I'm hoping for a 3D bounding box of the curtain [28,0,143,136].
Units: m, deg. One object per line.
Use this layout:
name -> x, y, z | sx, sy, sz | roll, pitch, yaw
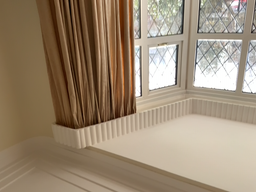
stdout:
curtain -> -0.280, -0.770, 1.540 | 0.540, 1.940, 0.650 | 9, -157, 27
